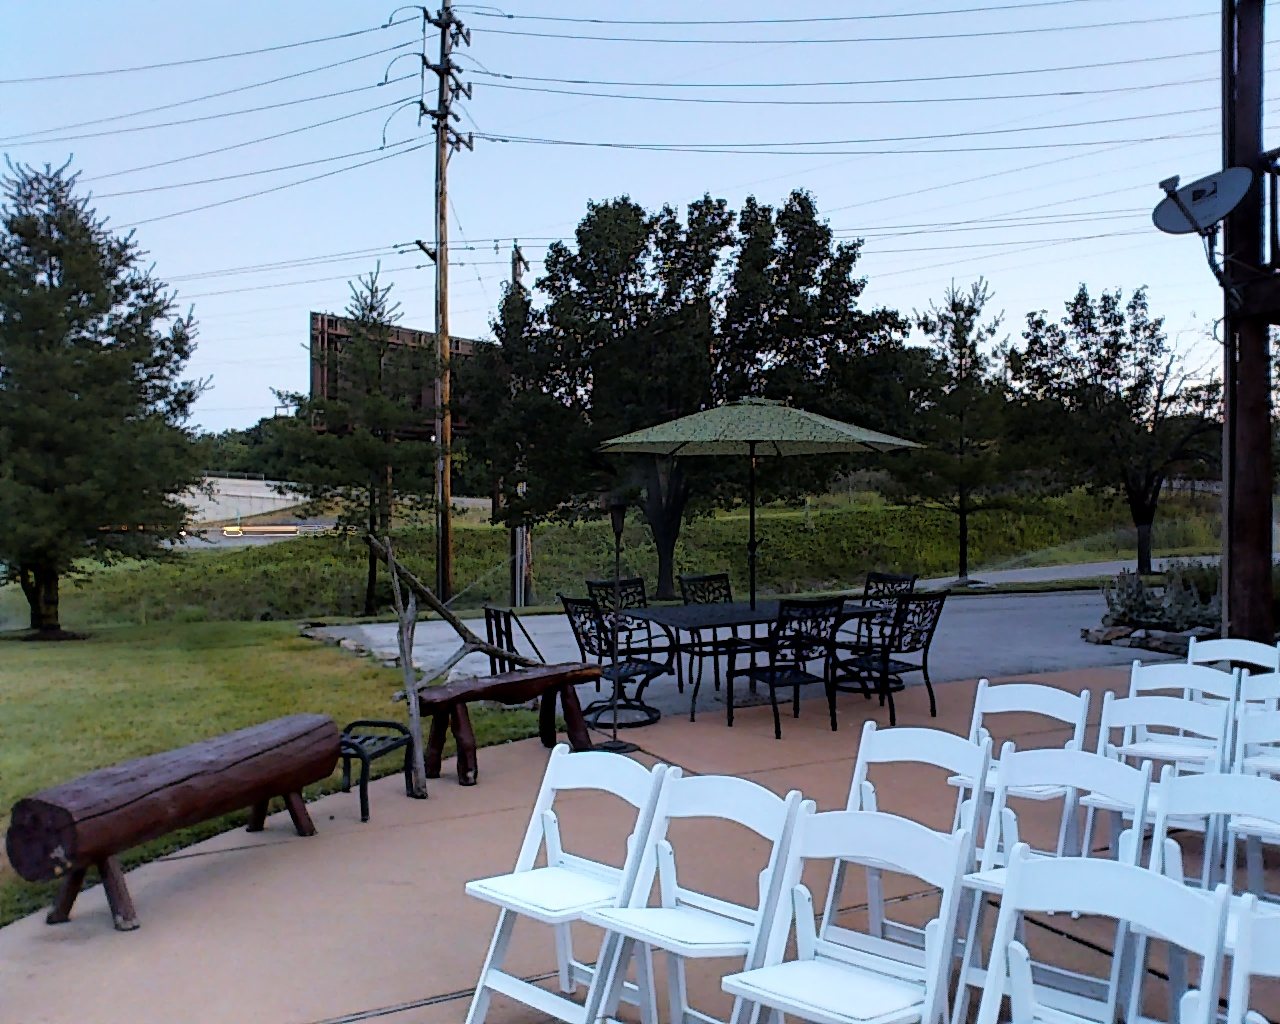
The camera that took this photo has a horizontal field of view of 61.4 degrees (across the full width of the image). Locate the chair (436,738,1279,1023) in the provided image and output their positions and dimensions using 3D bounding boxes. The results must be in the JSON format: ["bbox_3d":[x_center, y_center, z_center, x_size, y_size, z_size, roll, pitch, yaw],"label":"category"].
[{"bbox_3d":[0.500,1.110,2.480,2.470,0.750,0.560,-1,1,44],"label":"chair"}]

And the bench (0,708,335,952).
[{"bbox_3d":[-1.920,1.270,4.620,0.320,0.540,1.640,-1,1,17],"label":"bench"}]

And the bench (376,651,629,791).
[{"bbox_3d":[-0.800,1.240,6.620,0.500,0.540,1.550,-1,1,45],"label":"bench"}]
